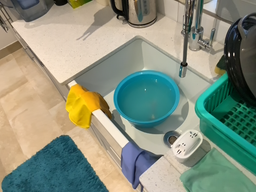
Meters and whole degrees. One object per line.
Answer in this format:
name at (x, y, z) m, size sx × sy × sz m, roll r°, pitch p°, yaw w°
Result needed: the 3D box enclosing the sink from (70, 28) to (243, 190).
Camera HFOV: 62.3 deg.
sink at (0.090, 0.020, 0.950) m, size 0.370 × 0.290 × 0.590 m, roll -37°, pitch 56°, yaw -17°
